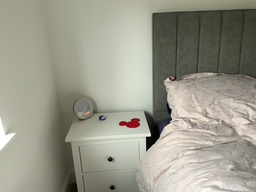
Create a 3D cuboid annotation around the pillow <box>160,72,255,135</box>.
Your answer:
[{"bbox_3d":[0.600,0.020,1.360,0.700,0.220,0.470,-3,19,-2],"label":"pillow"}]
